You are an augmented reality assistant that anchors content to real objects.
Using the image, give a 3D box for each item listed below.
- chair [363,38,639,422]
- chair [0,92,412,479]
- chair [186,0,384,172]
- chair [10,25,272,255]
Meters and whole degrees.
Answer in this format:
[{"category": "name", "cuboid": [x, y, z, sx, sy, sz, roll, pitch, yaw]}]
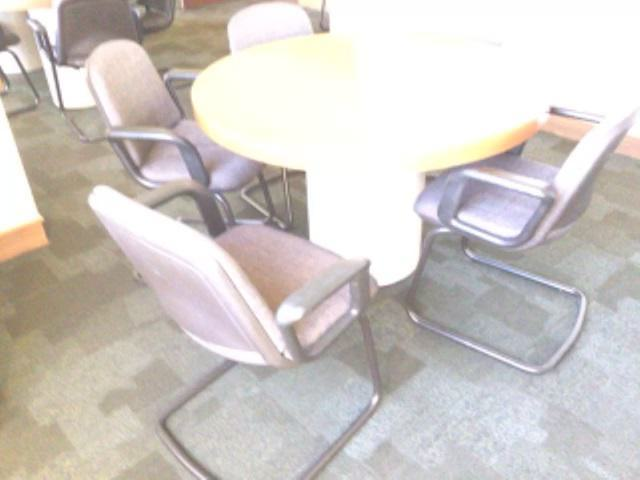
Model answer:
[{"category": "chair", "cuboid": [0.600, -0.080, 1.790, 0.650, 0.840, 0.620, -28, 39, -31]}, {"category": "chair", "cuboid": [-0.240, 0.190, 1.480, 0.630, 0.850, 0.690, -30, 40, -33]}, {"category": "chair", "cuboid": [-0.150, -0.680, 2.430, 0.590, 0.450, 0.620, -19, 35, -20]}, {"category": "chair", "cuboid": [-0.560, -0.390, 2.120, 0.660, 0.570, 0.670, -4, 33, 2]}]
